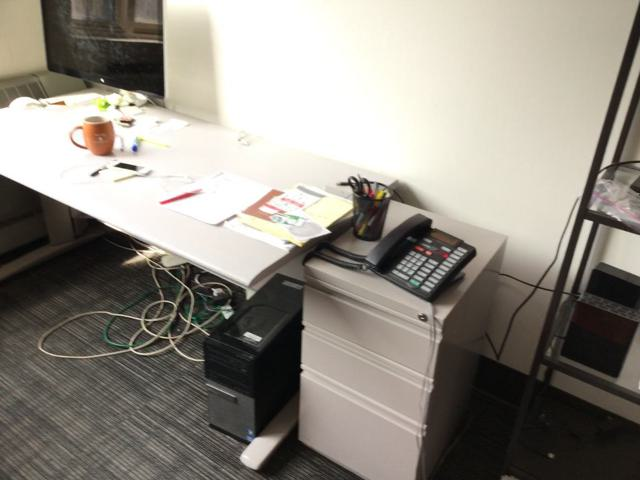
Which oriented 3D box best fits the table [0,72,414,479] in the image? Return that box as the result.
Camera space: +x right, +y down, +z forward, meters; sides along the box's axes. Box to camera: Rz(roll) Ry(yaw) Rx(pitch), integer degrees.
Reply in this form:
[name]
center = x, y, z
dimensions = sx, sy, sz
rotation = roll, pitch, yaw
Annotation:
[table]
center = -0.590, 0.030, 1.960
dimensions = 1.560, 0.890, 0.750
rotation = 16, 31, 29
